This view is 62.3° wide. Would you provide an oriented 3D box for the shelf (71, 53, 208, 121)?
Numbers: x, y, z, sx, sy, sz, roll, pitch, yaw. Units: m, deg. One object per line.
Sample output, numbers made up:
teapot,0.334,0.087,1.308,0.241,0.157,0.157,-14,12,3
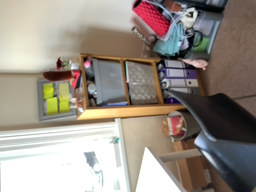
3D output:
shelf,0.110,-0.060,1.760,0.320,1.060,0.410,145,120,-60
